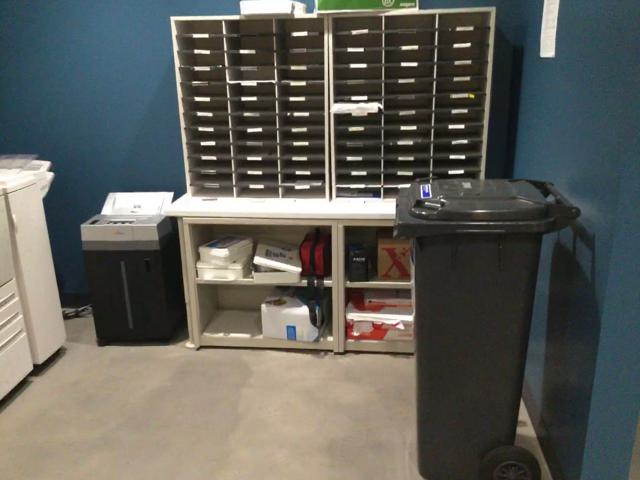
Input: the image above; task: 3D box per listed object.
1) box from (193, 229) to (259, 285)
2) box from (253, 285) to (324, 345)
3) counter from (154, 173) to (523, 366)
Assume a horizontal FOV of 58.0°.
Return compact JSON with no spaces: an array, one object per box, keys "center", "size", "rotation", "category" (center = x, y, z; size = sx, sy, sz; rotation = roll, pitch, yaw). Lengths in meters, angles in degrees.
[{"center":[-0.460,0.080,2.900],"size":[0.240,0.170,0.350],"rotation":[0,18,5],"category":"box"},{"center":[-0.150,0.370,2.900],"size":[0.310,0.200,0.260],"rotation":[0,18,5],"category":"box"},{"center":[0.090,0.130,2.880],"size":[1.620,0.820,0.470],"rotation":[0,18,5],"category":"counter"}]
